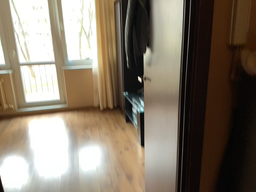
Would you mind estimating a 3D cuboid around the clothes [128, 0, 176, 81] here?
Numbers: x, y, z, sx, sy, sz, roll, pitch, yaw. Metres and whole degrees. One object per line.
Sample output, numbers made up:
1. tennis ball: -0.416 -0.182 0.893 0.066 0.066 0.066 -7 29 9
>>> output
1. clothes: 0.160 -0.540 1.560 0.240 0.790 0.350 -5 16 -12
